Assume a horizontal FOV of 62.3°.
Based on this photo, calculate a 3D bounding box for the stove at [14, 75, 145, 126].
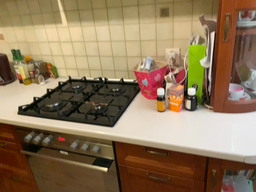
[{"bbox_3d":[-0.250,-0.010,1.270,0.590,0.020,0.520,5,28,19],"label":"stove"}]
